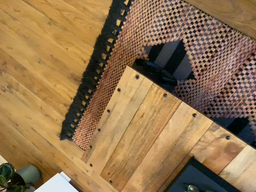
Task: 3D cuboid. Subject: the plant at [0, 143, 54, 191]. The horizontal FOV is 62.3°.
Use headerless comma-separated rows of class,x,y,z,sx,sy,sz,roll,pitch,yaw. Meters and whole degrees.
plant,-1.020,0.780,1.780,0.440,0.510,0.400,34,117,14
